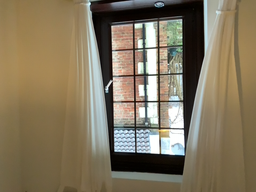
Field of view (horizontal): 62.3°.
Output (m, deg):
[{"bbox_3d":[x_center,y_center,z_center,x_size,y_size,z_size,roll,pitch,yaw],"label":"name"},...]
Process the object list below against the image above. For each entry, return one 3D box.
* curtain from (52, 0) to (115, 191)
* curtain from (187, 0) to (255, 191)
[{"bbox_3d":[-0.390,-0.320,1.860,0.450,2.460,0.190,-1,-178,11],"label":"curtain"},{"bbox_3d":[0.730,-0.310,1.560,0.540,2.470,0.220,-1,-178,11],"label":"curtain"}]
